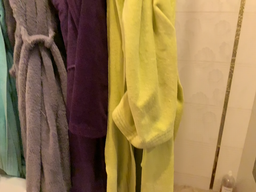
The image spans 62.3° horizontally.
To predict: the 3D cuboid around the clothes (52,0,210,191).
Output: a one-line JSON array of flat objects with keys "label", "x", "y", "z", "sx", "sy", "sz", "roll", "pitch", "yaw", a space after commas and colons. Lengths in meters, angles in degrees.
[{"label": "clothes", "x": 0.030, "y": 0.040, "z": 0.660, "sx": 0.330, "sy": 1.680, "sz": 0.300, "roll": 8, "pitch": 21, "yaw": 19}]
